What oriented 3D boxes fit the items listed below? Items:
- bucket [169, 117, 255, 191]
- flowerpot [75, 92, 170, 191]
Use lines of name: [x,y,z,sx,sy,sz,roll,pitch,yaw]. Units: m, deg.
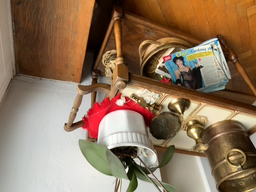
bucket: [0.370,0.260,0.840,0.270,0.170,0.280,16,133,-22]
flowerpot: [-0.030,0.160,0.730,0.240,0.250,0.180,13,135,-19]
